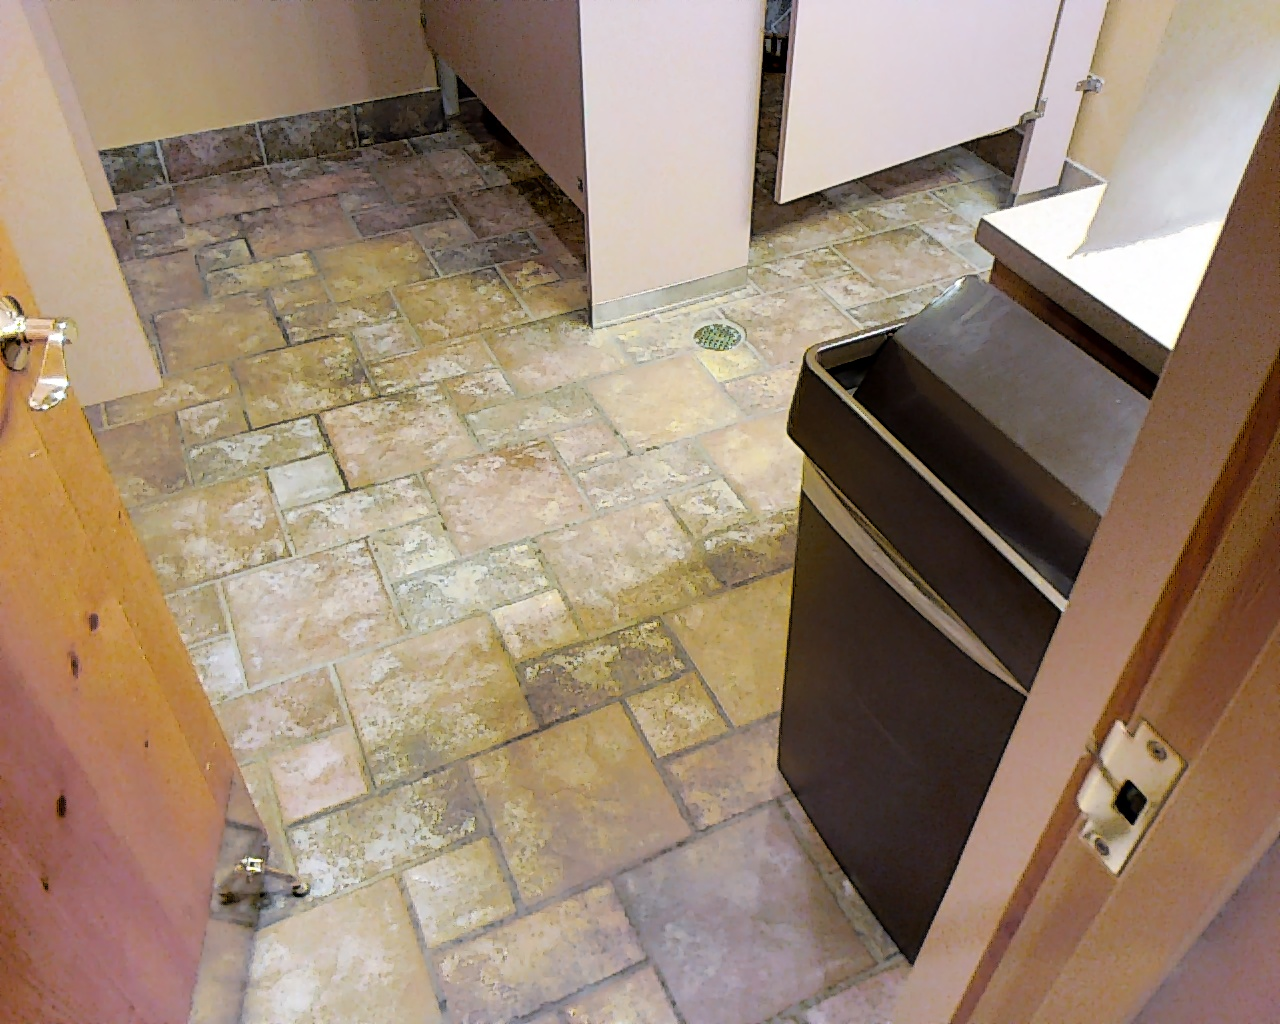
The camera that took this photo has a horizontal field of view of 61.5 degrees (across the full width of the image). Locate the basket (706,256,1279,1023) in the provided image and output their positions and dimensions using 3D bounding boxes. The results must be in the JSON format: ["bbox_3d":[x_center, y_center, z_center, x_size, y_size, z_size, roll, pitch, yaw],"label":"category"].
[{"bbox_3d":[0.400,0.230,1.430,0.340,0.900,0.570,-18,46,-20],"label":"basket"}]
